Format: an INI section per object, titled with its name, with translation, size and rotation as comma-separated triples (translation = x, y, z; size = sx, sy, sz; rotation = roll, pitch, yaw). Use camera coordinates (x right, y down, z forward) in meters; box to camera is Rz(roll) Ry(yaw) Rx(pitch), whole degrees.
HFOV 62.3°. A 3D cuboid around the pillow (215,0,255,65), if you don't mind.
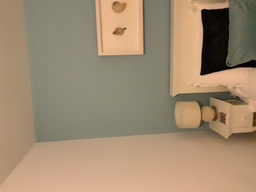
[pillow]
translation = 0.790, -0.440, 1.330
size = 0.230, 0.420, 0.450
rotation = -18, -75, -58
